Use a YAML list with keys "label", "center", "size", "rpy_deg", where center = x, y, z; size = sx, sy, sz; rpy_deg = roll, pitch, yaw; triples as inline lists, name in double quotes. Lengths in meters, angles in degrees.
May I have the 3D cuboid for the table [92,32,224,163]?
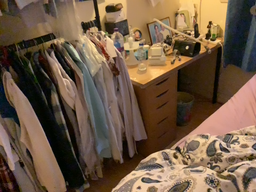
- label: "table"
  center: [0.360, -0.090, 2.130]
  size: [1.210, 0.740, 0.560]
  rpy_deg: [-30, 38, -34]
